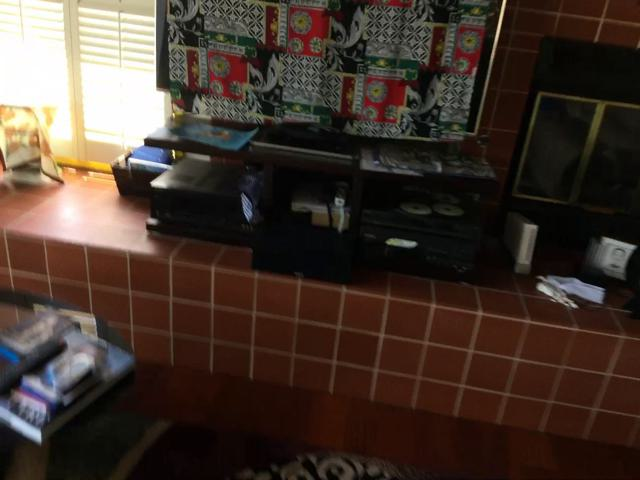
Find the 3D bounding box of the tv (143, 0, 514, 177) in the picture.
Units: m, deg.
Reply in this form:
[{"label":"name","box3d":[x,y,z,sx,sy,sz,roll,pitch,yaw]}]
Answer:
[{"label":"tv","box3d":[0.020,-0.750,2.090,1.230,0.840,0.350,8,23,9]}]

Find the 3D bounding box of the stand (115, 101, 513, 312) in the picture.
[{"label":"stand","box3d":[0.000,-0.190,2.260,1.300,0.460,0.710,8,23,9]}]
